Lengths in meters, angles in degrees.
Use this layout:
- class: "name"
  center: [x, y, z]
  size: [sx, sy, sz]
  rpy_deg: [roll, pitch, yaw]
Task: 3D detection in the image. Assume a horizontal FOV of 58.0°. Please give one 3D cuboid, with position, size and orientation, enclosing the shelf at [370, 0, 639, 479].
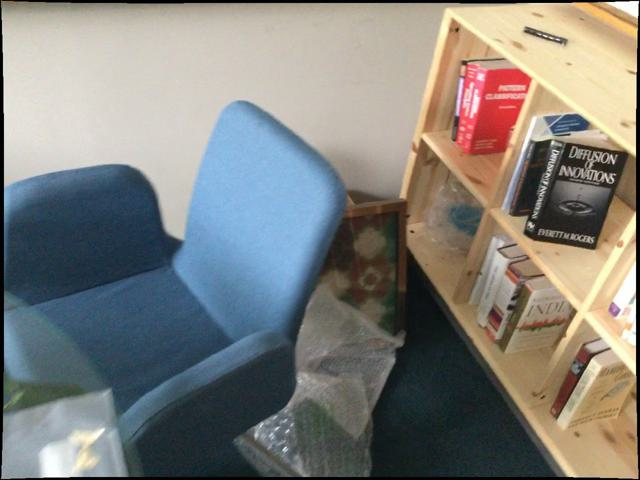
- class: "shelf"
  center: [0.708, 0.140, 1.300]
  size: [0.479, 0.871, 1.541]
  rpy_deg: [-12, 47, -18]

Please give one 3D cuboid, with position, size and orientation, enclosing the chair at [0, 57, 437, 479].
- class: "chair"
  center: [-0.299, 0.211, 1.150]
  size: [0.650, 0.771, 0.640]
  rpy_deg: [37, 52, 28]
